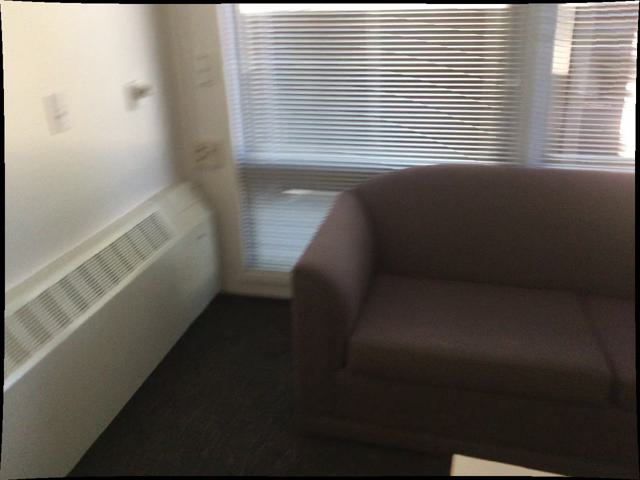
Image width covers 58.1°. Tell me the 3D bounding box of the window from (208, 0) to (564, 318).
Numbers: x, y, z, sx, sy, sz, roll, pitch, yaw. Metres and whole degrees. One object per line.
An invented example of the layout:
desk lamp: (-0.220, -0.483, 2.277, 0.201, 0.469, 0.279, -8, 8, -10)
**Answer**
window: (0.240, -0.721, 2.330, 1.278, 2.013, 0.380, 5, 24, 12)
